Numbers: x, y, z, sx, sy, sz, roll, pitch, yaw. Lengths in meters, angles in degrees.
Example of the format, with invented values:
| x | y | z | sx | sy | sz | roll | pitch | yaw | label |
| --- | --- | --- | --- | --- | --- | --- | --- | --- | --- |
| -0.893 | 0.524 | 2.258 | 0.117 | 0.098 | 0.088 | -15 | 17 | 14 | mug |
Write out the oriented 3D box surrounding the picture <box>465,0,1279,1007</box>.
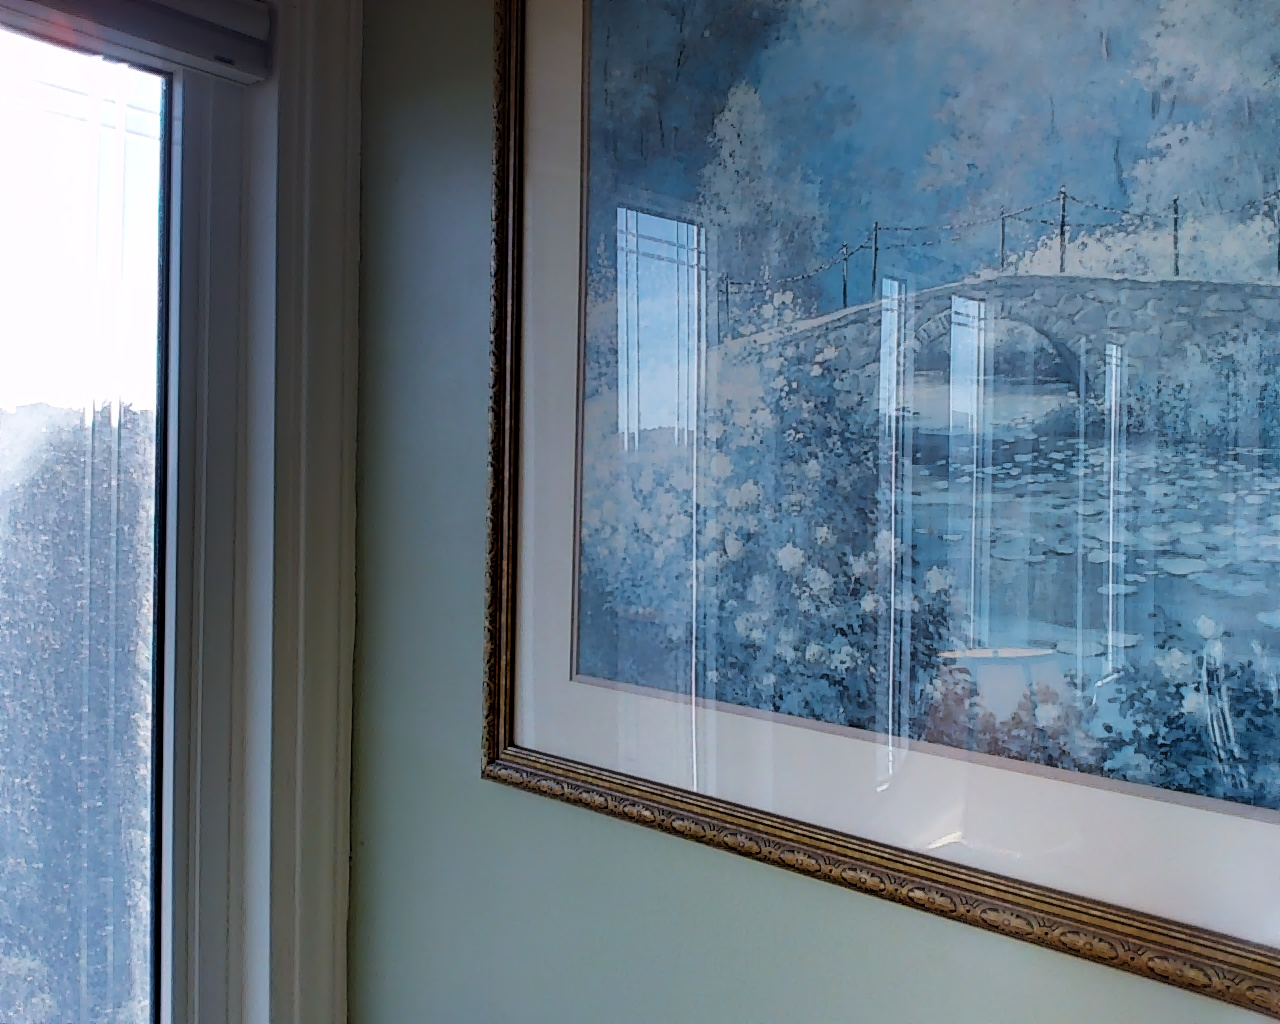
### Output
| x | y | z | sx | sy | sz | roll | pitch | yaw | label |
| --- | --- | --- | --- | --- | --- | --- | --- | --- | --- |
| 0.230 | -0.160 | 0.690 | 0.990 | 0.840 | 0.030 | 2 | 2 | 41 | picture |
